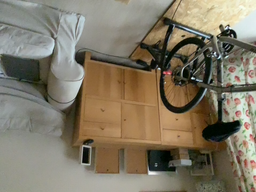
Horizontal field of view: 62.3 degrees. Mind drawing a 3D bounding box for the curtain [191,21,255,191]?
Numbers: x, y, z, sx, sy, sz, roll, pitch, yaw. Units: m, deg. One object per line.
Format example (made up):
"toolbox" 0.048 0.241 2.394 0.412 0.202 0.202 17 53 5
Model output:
"curtain" 1.090 0.730 1.840 0.290 2.830 0.710 8 155 -22
